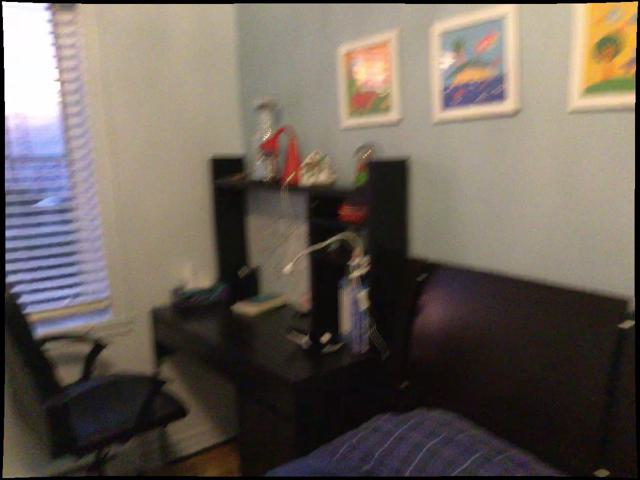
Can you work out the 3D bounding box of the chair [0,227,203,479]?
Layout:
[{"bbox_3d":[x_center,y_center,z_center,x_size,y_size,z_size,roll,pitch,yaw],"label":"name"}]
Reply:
[{"bbox_3d":[-0.829,0.501,1.950,0.530,0.951,0.690,-12,16,-41],"label":"chair"}]

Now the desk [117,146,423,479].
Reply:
[{"bbox_3d":[-0.220,0.340,2.230,0.570,1.341,1.100,-12,16,-39],"label":"desk"}]
